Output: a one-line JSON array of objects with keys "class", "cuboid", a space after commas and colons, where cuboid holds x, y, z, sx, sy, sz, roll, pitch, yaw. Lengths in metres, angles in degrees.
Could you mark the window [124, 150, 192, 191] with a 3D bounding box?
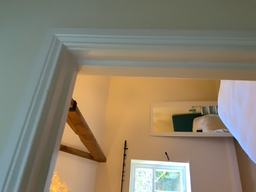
[{"class": "window", "cuboid": [0.540, 1.710, 3.980, 0.530, 1.170, 1.200, 86, -173, -60]}]
